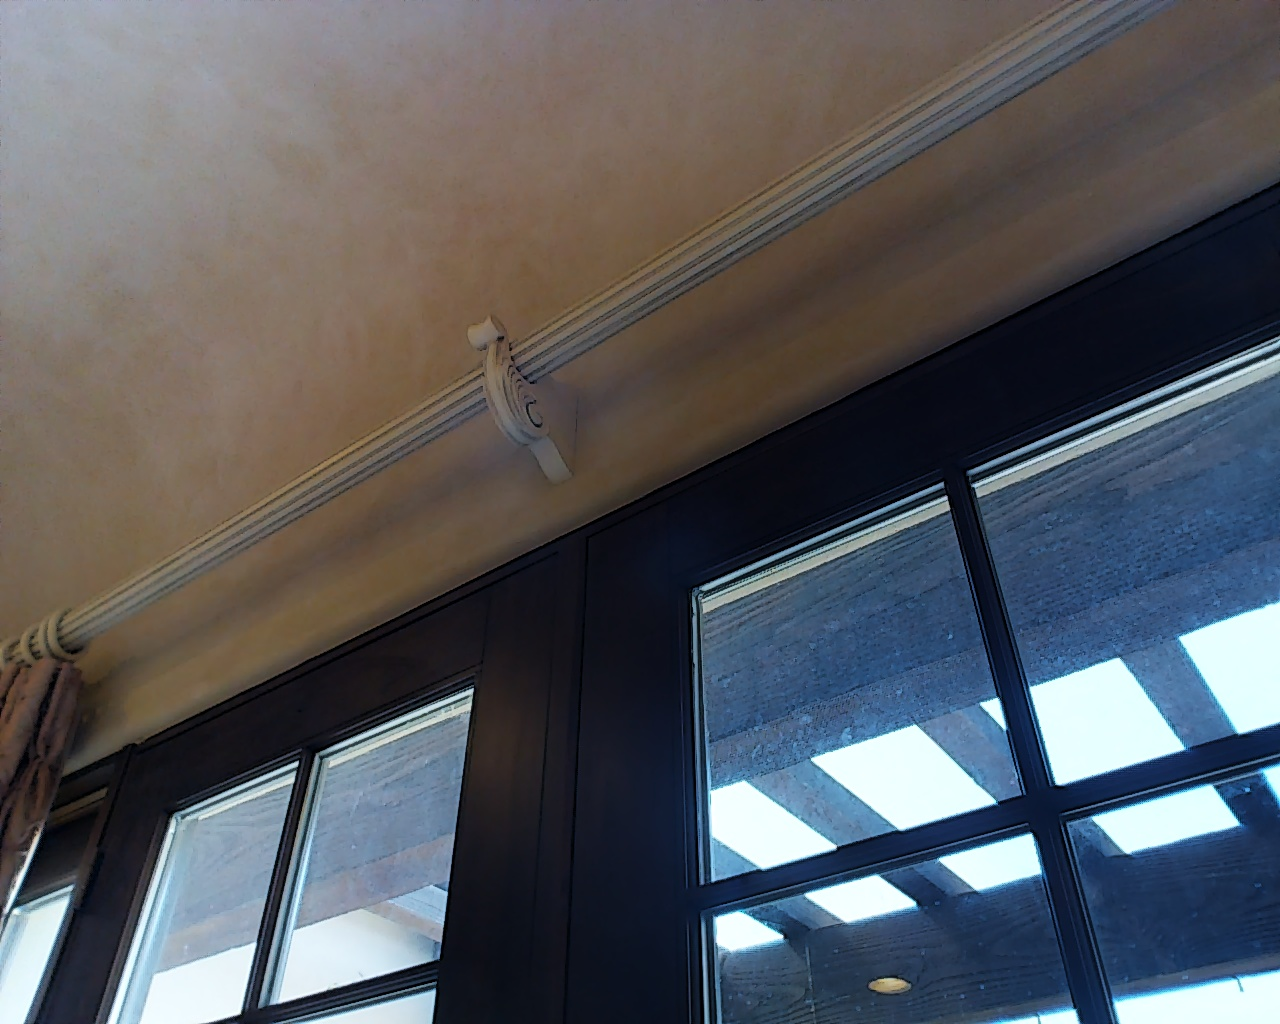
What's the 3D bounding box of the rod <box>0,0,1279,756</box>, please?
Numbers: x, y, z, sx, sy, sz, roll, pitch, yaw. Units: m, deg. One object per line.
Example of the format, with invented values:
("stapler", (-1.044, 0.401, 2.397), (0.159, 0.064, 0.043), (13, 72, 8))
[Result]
("rod", (-0.110, -0.180, 1.300), (3.630, 0.130, 0.240), (-24, -47, 27))
